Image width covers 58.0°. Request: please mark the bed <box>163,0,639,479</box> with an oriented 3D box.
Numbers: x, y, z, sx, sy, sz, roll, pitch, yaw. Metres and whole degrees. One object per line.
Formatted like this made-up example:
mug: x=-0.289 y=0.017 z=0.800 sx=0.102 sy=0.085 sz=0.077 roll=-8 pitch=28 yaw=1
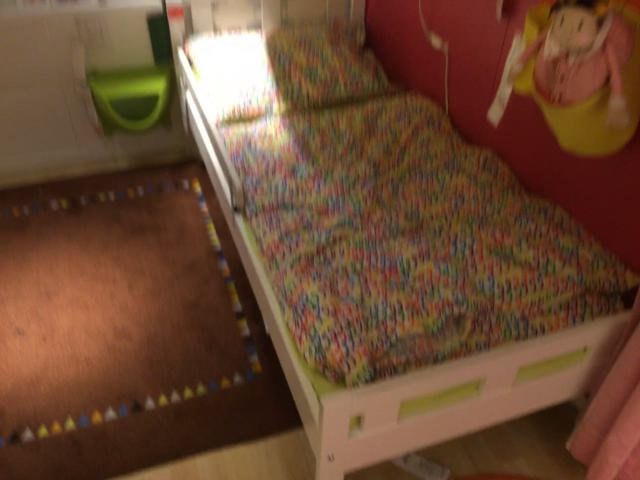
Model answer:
bed: x=0.080 y=-0.220 z=1.720 sx=0.880 sy=0.810 sz=1.640 roll=-9 pitch=40 yaw=-14
